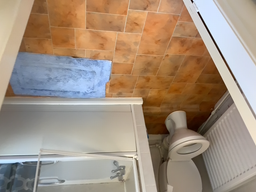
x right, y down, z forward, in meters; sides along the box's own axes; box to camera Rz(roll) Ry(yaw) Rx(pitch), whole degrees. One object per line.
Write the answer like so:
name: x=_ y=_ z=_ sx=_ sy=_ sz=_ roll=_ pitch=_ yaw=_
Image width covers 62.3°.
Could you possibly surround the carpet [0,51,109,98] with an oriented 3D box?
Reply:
carpet: x=-0.580 y=-0.150 z=1.710 sx=0.800 sy=0.040 sz=0.430 roll=3 pitch=142 yaw=-14
